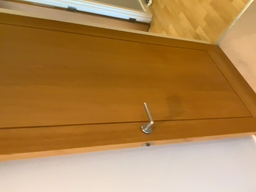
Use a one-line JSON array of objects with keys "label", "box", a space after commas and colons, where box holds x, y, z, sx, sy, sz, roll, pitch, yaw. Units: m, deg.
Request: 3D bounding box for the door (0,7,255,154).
[{"label": "door", "box": [-0.050, -0.130, 1.140, 0.030, 2.040, 0.830, 118, 143, -43]}]
